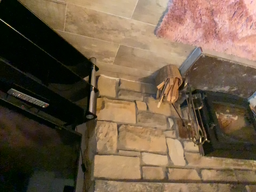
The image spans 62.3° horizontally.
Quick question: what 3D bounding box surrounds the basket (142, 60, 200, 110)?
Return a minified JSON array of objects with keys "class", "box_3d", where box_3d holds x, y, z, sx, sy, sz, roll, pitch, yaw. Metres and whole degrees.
[{"class":"basket","box_3d":[0.340,-0.080,1.770,0.330,0.220,0.320,9,143,-18]}]
